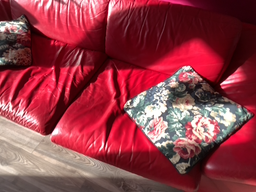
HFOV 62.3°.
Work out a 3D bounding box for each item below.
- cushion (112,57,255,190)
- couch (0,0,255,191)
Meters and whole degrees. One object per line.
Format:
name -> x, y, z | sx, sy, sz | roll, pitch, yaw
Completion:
cushion -> 0.290, 0.090, 1.120 | 0.570, 0.170, 0.490 | 29, 51, 21
couch -> -0.180, -0.330, 1.410 | 2.440, 0.840, 1.320 | 19, 48, 12
